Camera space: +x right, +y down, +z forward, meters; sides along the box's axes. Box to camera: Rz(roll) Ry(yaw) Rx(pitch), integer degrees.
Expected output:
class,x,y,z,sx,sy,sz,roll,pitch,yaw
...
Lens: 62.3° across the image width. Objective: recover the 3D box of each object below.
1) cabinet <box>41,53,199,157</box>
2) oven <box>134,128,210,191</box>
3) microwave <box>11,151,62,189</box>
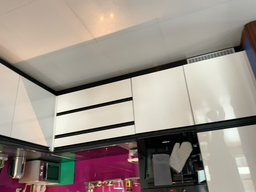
class,x,y,z,sx,sy,sz,roll,pitch,yaw
cabinet,-0.100,0.200,2.610,1.700,0.820,0.640,-12,155,16
oven,0.470,0.750,2.170,0.600,0.610,0.660,-11,155,15
microwave,-1.170,0.980,2.770,0.330,0.410,0.500,-11,155,15
